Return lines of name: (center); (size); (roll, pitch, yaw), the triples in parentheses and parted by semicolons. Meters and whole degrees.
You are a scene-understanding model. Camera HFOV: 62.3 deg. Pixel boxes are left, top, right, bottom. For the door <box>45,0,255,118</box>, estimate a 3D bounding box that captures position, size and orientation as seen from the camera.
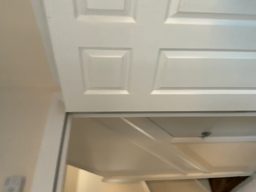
door: (0.690, -0.160, 0.920); (0.020, 1.950, 0.720); (-95, 7, -47)
